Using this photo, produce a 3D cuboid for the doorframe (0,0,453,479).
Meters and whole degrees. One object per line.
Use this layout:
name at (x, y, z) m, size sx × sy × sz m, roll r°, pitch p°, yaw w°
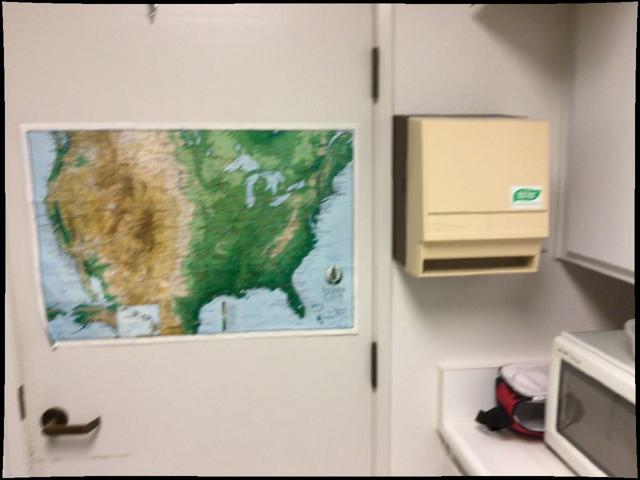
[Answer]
doorframe at (-0.280, 0.120, 1.480) m, size 1.219 × 1.622 × 0.060 m, roll -2°, pitch 10°, yaw -7°
